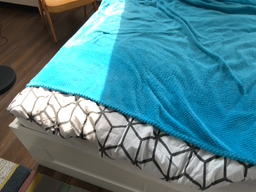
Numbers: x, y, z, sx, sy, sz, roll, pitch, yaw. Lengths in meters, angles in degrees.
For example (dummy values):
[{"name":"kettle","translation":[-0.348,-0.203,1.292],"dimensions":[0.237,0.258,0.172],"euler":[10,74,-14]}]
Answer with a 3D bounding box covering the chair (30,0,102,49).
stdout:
[{"name":"chair","translation":[-0.750,-1.100,2.430],"dimensions":[0.580,0.720,0.650],"euler":[-28,53,-22]}]
